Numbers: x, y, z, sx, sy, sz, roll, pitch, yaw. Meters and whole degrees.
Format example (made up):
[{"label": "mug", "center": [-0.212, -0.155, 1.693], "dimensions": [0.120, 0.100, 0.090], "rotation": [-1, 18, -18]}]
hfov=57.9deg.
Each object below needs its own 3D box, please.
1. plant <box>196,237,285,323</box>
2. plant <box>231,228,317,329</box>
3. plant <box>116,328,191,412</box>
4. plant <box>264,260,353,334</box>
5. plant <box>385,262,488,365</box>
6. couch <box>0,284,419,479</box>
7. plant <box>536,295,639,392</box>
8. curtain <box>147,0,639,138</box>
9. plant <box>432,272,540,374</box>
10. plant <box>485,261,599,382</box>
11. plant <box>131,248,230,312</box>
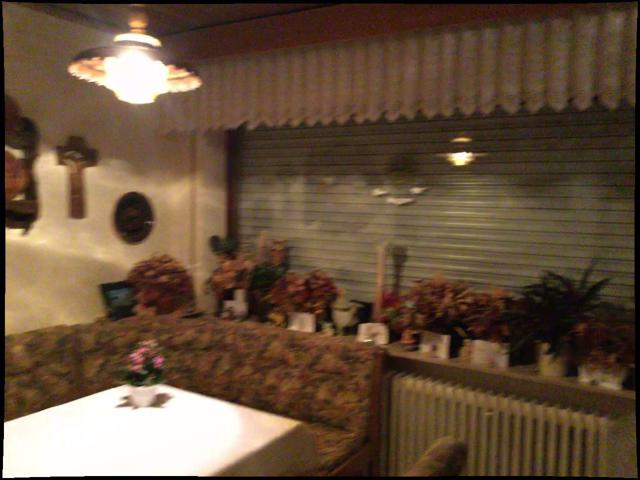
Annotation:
[{"label": "plant", "center": [-0.470, 0.220, 3.430], "dimensions": [0.370, 0.430, 0.350], "rotation": [5, 6, 34]}, {"label": "plant", "center": [-0.260, 0.200, 3.300], "dimensions": [0.360, 0.511, 0.310], "rotation": [5, 6, 34]}, {"label": "plant", "center": [-0.639, 0.490, 2.220], "dimensions": [0.210, 0.240, 0.180], "rotation": [5, 6, 34]}, {"label": "plant", "center": [-0.060, 0.300, 3.170], "dimensions": [0.360, 0.320, 0.320], "rotation": [5, 6, 34]}, {"label": "plant", "center": [0.559, 0.330, 2.760], "dimensions": [0.350, 0.390, 0.360], "rotation": [5, 6, 34]}, {"label": "couch", "center": [-0.799, 0.861, 2.420], "dimensions": [1.549, 0.921, 2.299], "rotation": [5, 6, 34]}, {"label": "plant", "center": [1.149, 0.410, 2.400], "dimensions": [0.390, 0.280, 0.320], "rotation": [5, 6, 34]}, {"label": "curtain", "center": [0.799, -0.781, 2.320], "dimensions": [4.057, 0.611, 0.360], "rotation": [5, 6, 34]}, {"label": "plant", "center": [0.759, 0.360, 2.640], "dimensions": [0.370, 0.360, 0.330], "rotation": [5, 6, 34]}, {"label": "plant", "center": [0.969, 0.330, 2.520], "dimensions": [0.370, 0.420, 0.350], "rotation": [5, 6, 34]}, {"label": "plant", "center": [-0.809, 0.220, 3.390], "dimensions": [0.310, 0.290, 0.480], "rotation": [5, 6, 34]}]
